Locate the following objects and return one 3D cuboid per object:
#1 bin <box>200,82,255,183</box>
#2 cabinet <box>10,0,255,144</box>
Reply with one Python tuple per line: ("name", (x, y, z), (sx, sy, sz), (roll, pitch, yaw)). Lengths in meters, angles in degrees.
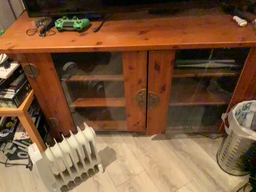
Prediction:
("bin", (0.670, 0.200, 1.190), (0.320, 0.370, 0.300), (-21, 46, -18))
("cabinet", (0.120, -0.160, 1.350), (1.220, 0.710, 0.600), (0, 42, 3))
